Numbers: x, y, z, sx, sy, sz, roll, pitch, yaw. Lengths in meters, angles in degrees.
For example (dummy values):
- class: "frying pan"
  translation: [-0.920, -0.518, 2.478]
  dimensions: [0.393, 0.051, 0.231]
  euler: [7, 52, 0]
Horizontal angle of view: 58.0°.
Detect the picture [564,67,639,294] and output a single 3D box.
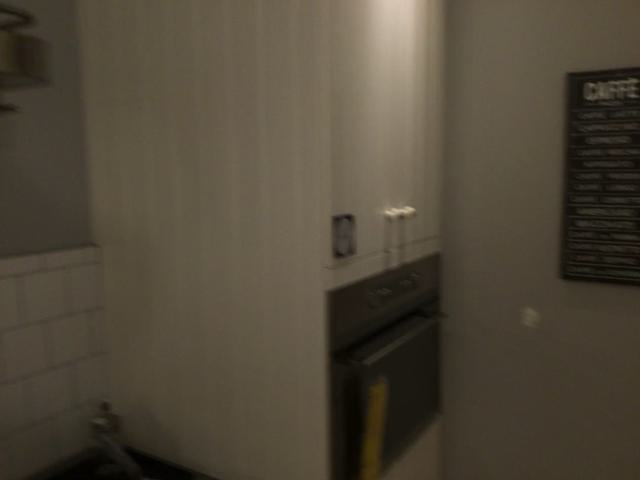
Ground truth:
- class: "picture"
  translation: [0.680, -0.130, 1.310]
  dimensions: [0.230, 0.500, 0.030]
  euler: [1, 6, 33]
